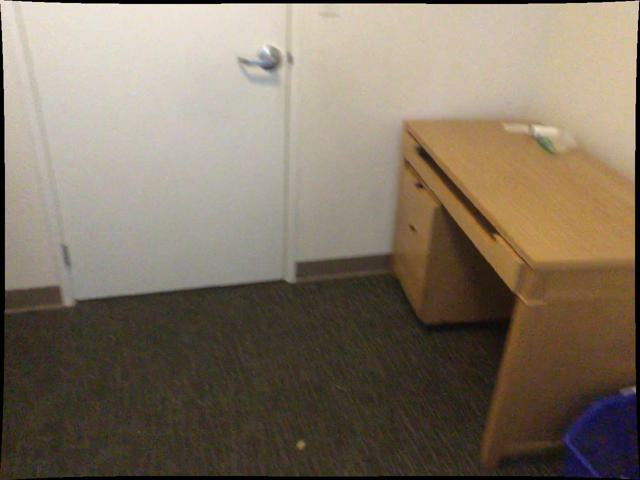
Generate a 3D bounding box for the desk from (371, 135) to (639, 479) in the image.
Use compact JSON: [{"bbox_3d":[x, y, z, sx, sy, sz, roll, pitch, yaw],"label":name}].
[{"bbox_3d":[0.739,0.140,2.170,0.709,0.801,1.240,0,21,-12],"label":"desk"}]
